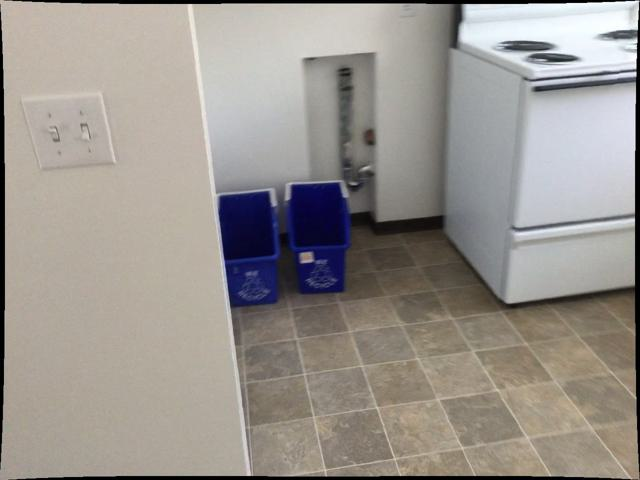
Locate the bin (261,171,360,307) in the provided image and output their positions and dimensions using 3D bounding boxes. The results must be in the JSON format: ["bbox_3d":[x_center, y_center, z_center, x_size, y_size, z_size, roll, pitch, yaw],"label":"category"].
[{"bbox_3d":[-0.050,-0.020,2.480,0.320,0.360,0.480,-8,30,-9],"label":"bin"}]

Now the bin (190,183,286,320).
[{"bbox_3d":[-0.349,0.030,2.410,0.320,0.350,0.460,-8,30,-9],"label":"bin"}]

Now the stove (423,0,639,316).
[{"bbox_3d":[0.948,-0.431,2.310,0.799,1.111,0.760,-8,29,-9],"label":"stove"}]
